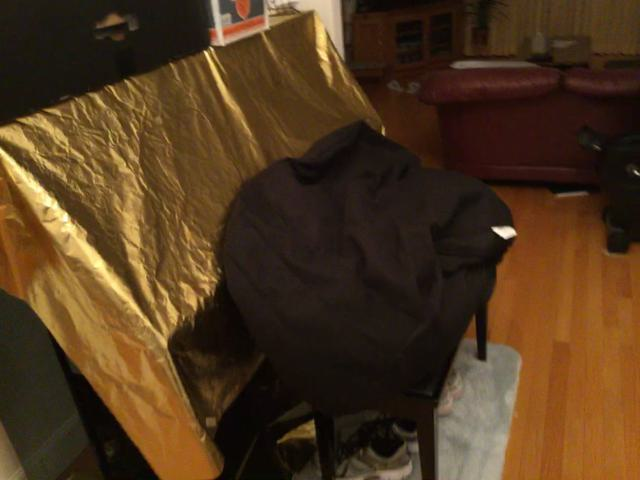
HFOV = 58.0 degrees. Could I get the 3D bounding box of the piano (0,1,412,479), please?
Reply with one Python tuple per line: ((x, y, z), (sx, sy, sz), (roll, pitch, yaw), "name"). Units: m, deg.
((-0.260, 0.020, 1.820), (0.660, 1.200, 1.610), (6, 30, 23), "piano")
